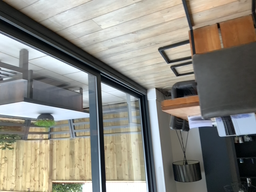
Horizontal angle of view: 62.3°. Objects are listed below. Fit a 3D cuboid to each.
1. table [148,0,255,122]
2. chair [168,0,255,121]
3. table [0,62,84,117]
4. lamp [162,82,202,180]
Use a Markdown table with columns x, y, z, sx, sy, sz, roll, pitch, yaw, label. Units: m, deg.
| x | y | z | sx | sy | sz | roll | pitch | yaw | label |
| --- | --- | --- | --- | --- | --- | --- | --- | --- | --- |
| 1.050 | -0.190 | 2.400 | 1.000 | 0.770 | 2.060 | -9 | 167 | 21 | table |
| 0.630 | -0.310 | 1.440 | 0.510 | 0.860 | 0.710 | -9 | 167 | 21 | chair |
| -1.390 | 0.000 | 3.240 | 0.720 | 0.450 | 1.490 | -9 | 167 | 19 | table |
| 1.020 | 0.650 | 4.020 | 0.470 | 1.710 | 0.460 | -8 | 167 | 19 | lamp |
